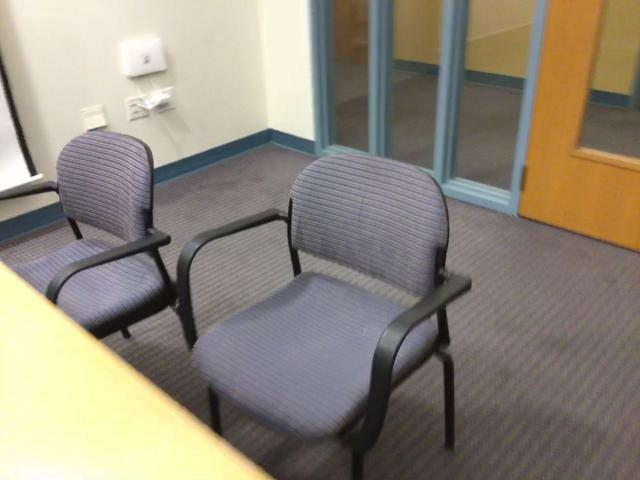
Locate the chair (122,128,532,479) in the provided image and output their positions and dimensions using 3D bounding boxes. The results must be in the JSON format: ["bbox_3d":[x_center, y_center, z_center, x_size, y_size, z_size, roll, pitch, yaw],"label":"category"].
[{"bbox_3d":[0.050,0.250,1.370,0.590,0.780,0.590,22,42,40],"label":"chair"}]

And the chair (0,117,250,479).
[{"bbox_3d":[-0.670,0.140,1.620,0.550,0.720,0.620,22,42,40],"label":"chair"}]

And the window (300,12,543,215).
[{"bbox_3d":[0.460,-0.680,2.900,1.140,0.770,0.330,22,42,40],"label":"window"}]
